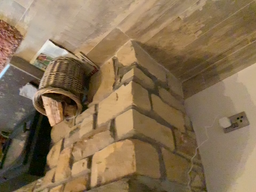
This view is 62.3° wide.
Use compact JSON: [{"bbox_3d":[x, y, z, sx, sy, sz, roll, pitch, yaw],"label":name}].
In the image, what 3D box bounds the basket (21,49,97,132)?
[{"bbox_3d":[-0.450,-0.030,1.460,0.300,0.380,0.320,-31,132,31],"label":"basket"}]
